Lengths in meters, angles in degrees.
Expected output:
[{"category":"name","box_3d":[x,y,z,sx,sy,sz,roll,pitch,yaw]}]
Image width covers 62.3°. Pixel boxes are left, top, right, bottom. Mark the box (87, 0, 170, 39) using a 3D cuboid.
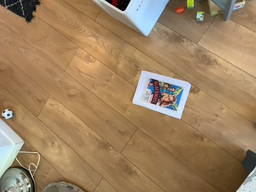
[{"category":"box","box_3d":[-0.010,-0.520,1.080,0.320,0.420,0.230,29,98,16]}]
